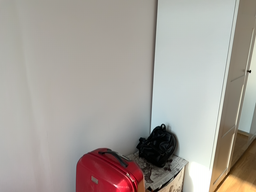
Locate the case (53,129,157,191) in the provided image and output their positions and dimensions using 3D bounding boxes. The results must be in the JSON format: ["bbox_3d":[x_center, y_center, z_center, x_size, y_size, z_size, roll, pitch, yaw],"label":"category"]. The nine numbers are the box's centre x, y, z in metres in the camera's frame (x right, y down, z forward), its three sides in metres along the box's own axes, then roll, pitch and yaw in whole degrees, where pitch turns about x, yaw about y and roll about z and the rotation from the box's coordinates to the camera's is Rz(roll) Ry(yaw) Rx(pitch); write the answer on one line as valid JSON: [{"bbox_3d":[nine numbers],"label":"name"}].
[{"bbox_3d":[-0.160,0.670,1.370,0.350,0.680,0.550,-16,25,-42],"label":"case"}]
